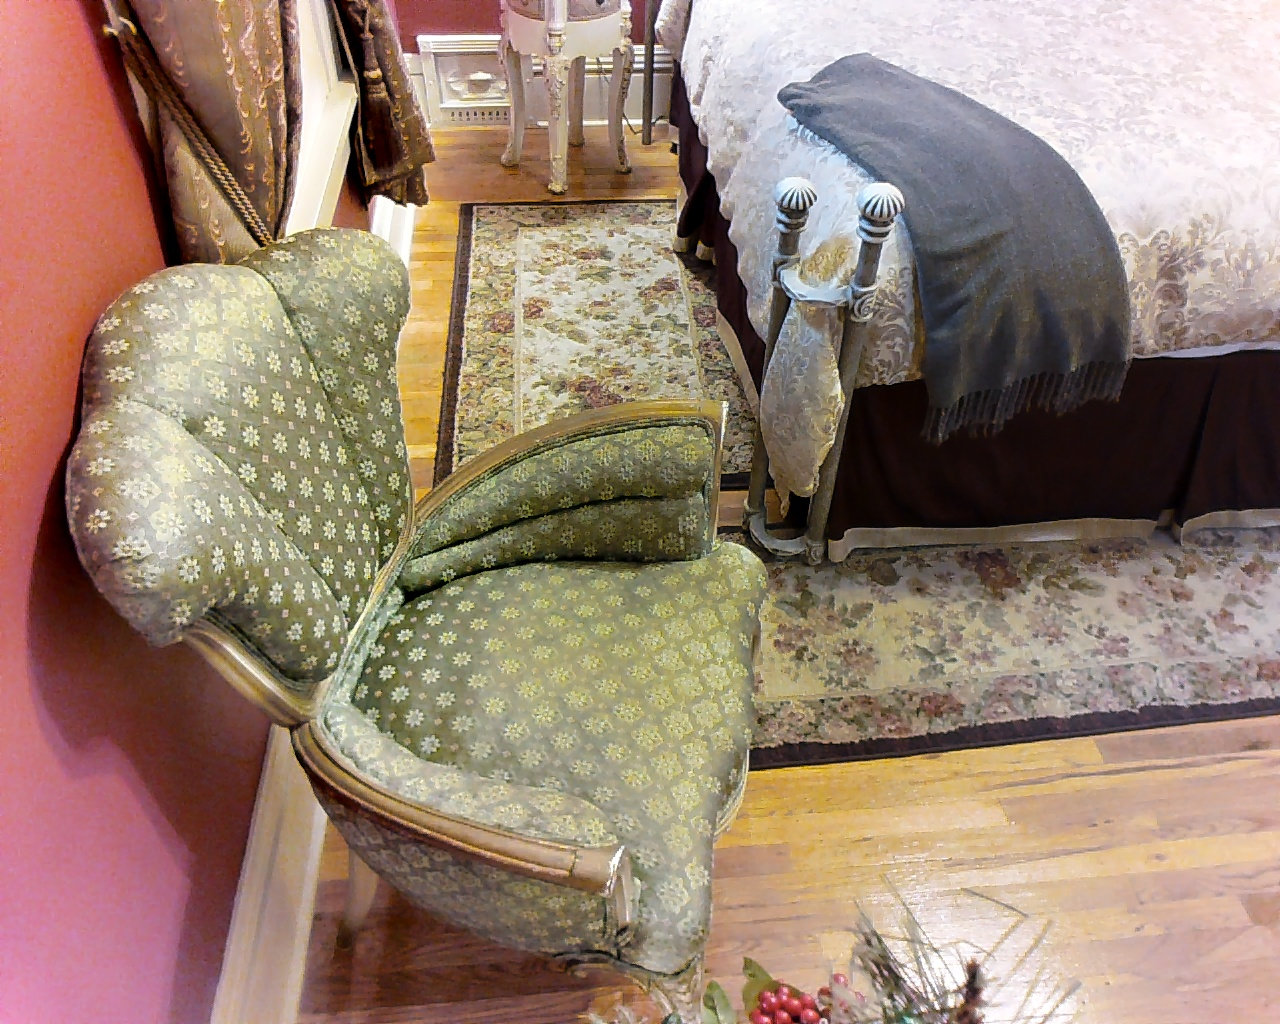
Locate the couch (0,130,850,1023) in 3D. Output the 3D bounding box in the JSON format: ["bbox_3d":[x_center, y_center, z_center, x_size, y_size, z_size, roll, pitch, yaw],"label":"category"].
[{"bbox_3d":[-0.150,0.200,1.360,0.620,1.010,0.770,9,44,10],"label":"couch"}]
